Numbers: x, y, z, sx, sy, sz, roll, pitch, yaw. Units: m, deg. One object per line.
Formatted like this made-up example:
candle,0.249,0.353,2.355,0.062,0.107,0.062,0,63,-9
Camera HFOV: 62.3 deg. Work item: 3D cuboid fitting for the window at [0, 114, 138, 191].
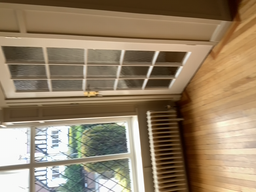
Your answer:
window,-0.720,1.050,2.510,0.200,1.670,1.600,132,135,-67

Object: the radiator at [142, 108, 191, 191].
radiator,0.490,0.880,2.630,0.140,0.450,1.450,130,136,-66
